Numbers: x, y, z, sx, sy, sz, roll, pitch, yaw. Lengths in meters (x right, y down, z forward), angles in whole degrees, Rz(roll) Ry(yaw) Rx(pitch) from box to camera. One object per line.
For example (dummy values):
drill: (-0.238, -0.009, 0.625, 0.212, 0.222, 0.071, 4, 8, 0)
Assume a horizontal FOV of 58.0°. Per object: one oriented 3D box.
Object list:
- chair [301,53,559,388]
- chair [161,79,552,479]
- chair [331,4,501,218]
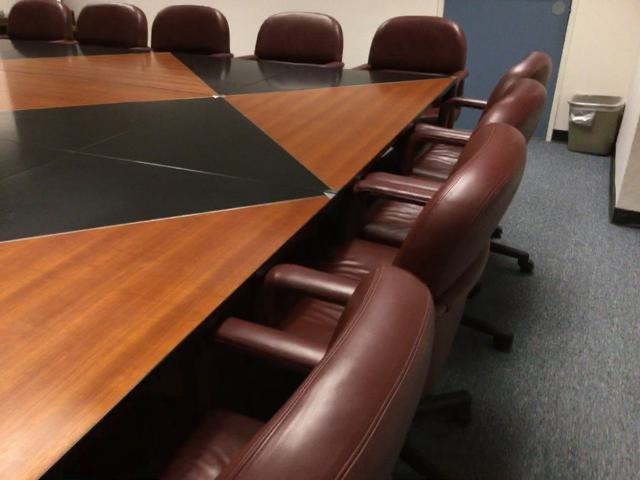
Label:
chair: (0.370, -0.110, 2.020, 0.650, 0.900, 0.600, 13, 31, 23)
chair: (0.130, 0.170, 1.500, 0.650, 0.960, 0.670, 13, 31, 23)
chair: (0.530, -0.760, 3.260, 0.700, 0.960, 0.700, 13, 31, 23)
